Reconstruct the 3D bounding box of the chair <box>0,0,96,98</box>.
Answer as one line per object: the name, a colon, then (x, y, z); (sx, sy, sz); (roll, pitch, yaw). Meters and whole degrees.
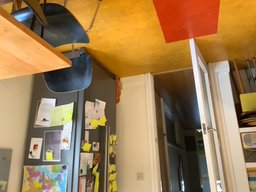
chair: (-0.520, -0.450, 1.440); (0.360, 0.760, 0.610); (-8, 162, 17)
